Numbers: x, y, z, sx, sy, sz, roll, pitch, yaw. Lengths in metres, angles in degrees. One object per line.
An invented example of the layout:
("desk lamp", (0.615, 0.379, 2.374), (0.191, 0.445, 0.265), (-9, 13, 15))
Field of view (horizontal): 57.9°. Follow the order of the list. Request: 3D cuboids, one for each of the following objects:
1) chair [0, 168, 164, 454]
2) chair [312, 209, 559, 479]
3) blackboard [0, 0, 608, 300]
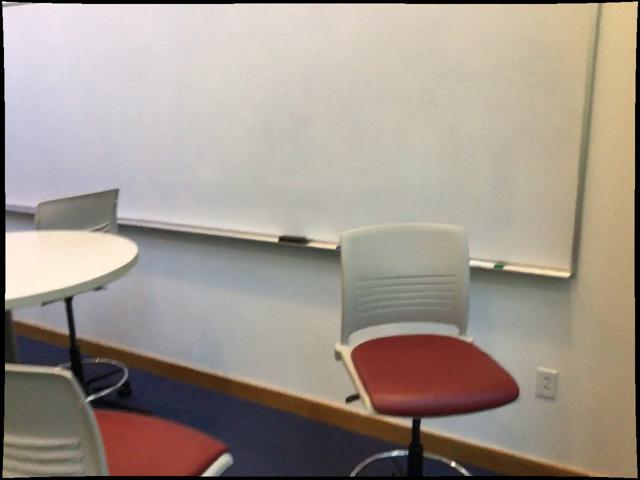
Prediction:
("chair", (-1.149, 0.280, 2.680), (0.510, 1.131, 0.530), (8, 18, 29))
("chair", (0.300, 0.511, 1.870), (0.539, 1.091, 0.610), (-3, 16, -10))
("blackboard", (-0.649, -0.571, 2.860), (3.637, 1.131, 0.130), (8, 18, 29))
